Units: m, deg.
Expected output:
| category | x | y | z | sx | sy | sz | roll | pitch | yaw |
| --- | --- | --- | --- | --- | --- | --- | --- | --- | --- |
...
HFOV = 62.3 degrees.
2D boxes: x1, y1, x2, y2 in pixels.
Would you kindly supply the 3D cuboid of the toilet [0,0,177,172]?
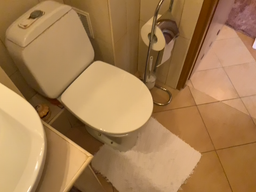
| category | x | y | z | sx | sy | sz | roll | pitch | yaw |
| --- | --- | --- | --- | --- | --- | --- | --- | --- | --- |
| toilet | -0.210 | -0.050 | 1.140 | 0.680 | 0.800 | 0.390 | 30 | 62 | 18 |
